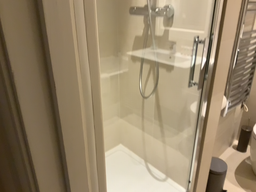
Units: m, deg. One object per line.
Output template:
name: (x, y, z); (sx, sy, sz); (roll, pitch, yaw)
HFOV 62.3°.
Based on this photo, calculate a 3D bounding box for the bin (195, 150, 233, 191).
bin: (0.670, 0.610, 1.650); (0.160, 0.240, 0.230); (22, 32, 39)
